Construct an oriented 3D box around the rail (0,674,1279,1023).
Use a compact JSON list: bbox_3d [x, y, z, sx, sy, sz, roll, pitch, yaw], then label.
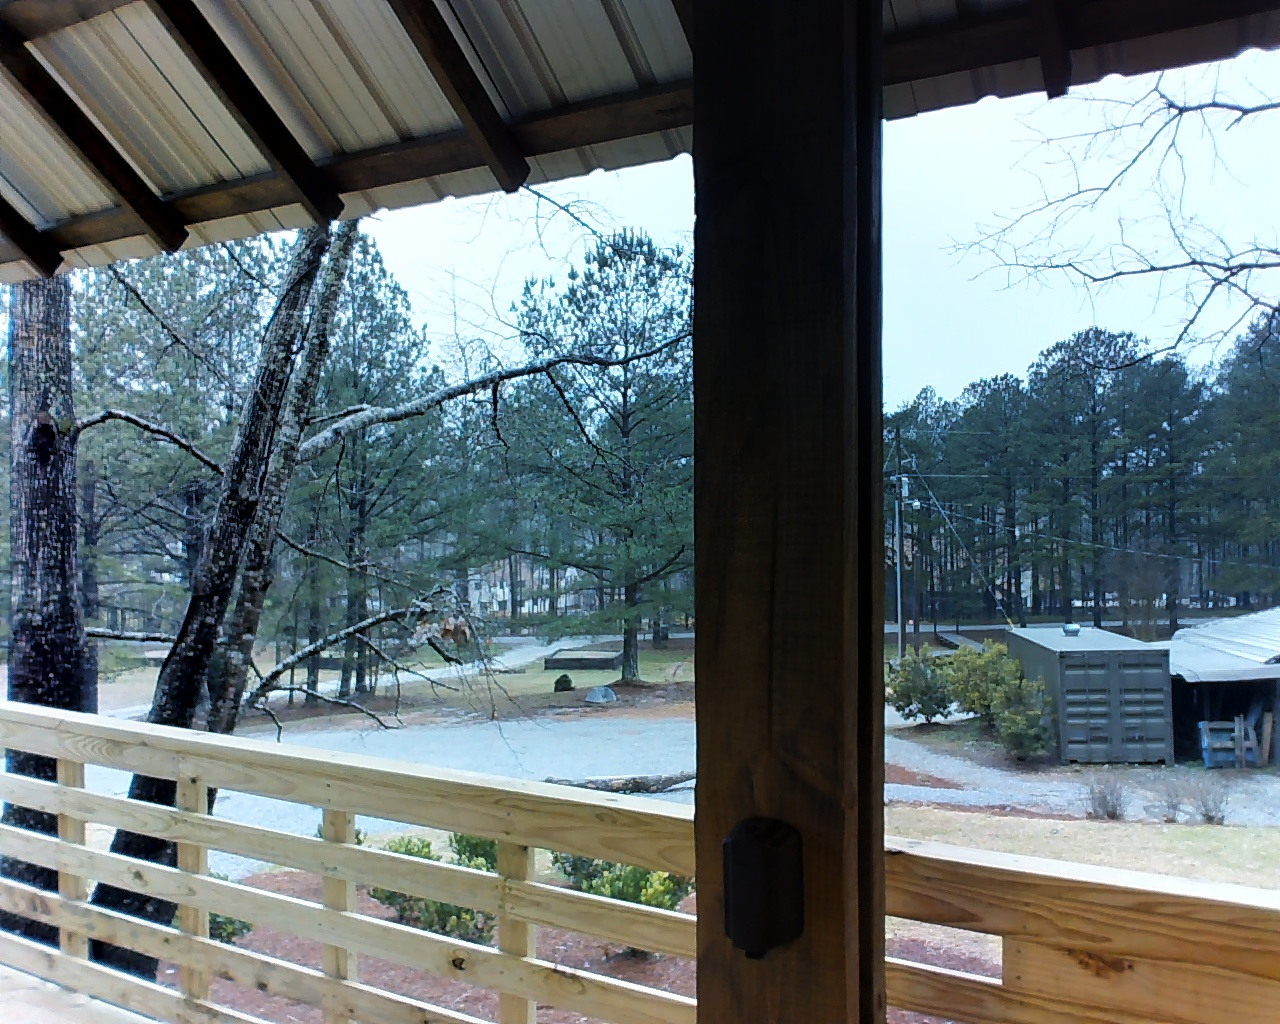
[{"bbox_3d":[-0.070,1.060,2.450,5.700,0.980,0.150,0,1,30],"label":"rail"}]
